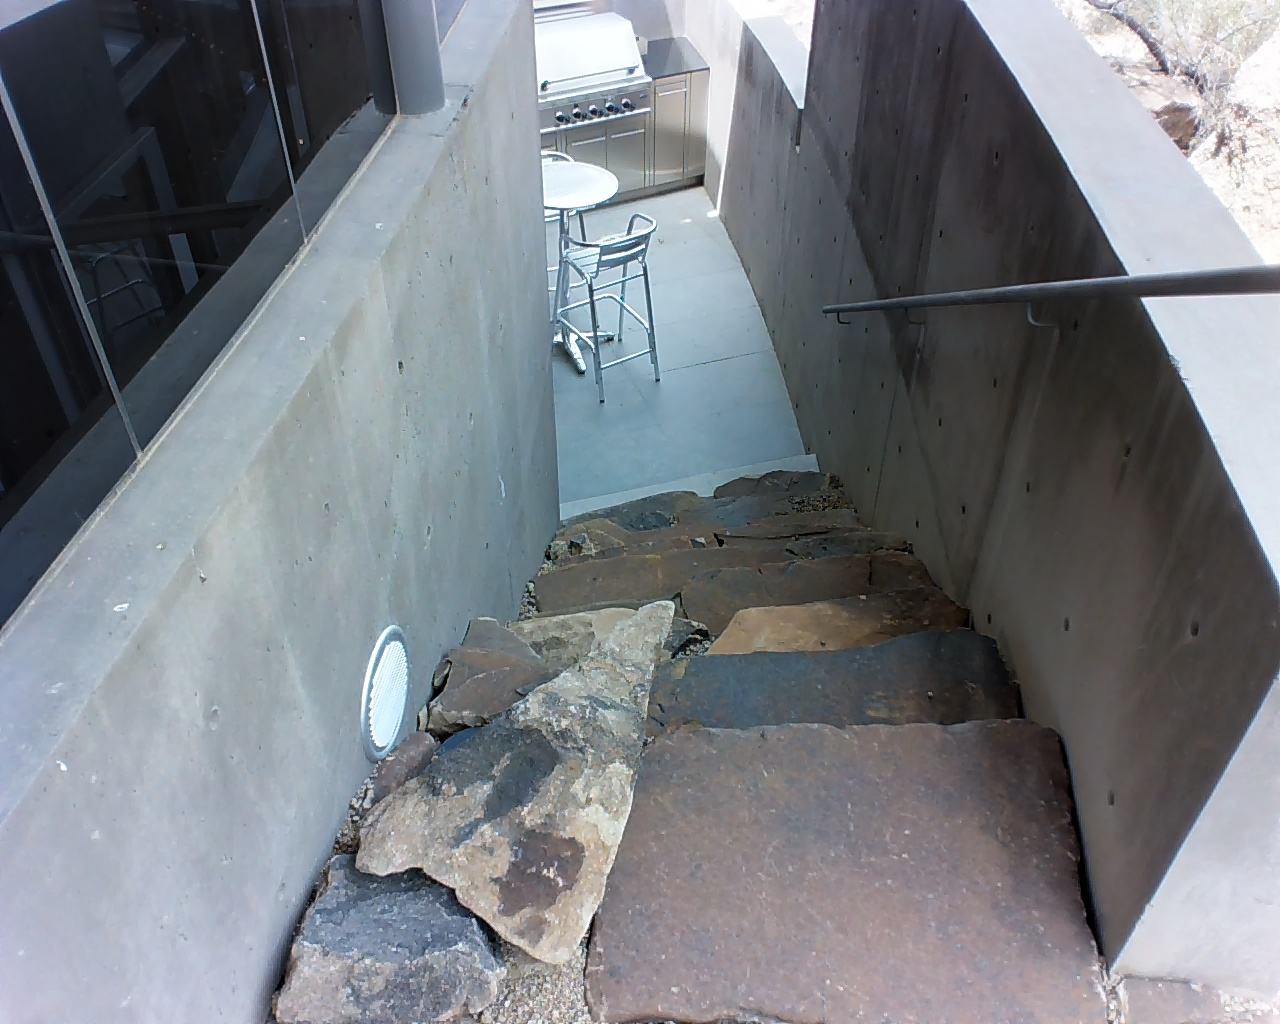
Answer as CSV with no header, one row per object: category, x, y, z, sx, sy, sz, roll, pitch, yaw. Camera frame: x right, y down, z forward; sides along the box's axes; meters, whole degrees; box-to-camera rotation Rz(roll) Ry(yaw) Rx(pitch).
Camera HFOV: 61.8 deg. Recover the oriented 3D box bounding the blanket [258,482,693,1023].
blanket,-0.200,0.380,1.880,0.490,0.200,1.080,3,42,7
